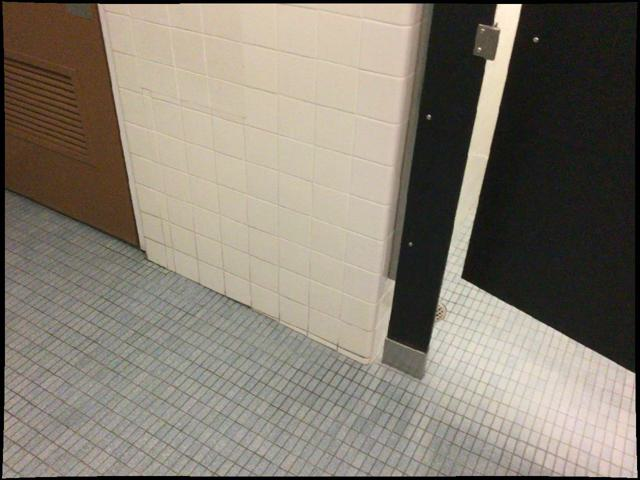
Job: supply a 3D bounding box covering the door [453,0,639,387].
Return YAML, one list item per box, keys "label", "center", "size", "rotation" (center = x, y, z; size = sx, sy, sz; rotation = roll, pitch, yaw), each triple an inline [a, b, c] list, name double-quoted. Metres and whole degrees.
- label: "door"
  center: [0.718, -0.080, 1.260]
  size: [0.809, 0.882, 0.080]
  rotation: [29, 42, 35]
